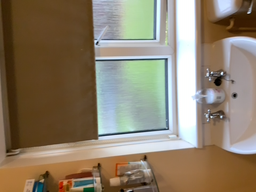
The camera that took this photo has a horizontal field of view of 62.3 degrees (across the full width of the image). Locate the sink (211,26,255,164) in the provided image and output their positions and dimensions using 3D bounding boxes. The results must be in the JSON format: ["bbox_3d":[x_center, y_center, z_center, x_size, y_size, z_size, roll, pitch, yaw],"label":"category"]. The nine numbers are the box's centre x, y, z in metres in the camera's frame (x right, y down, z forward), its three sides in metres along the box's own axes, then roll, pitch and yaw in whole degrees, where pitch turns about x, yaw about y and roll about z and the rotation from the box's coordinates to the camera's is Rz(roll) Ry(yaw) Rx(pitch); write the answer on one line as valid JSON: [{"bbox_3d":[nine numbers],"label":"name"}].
[{"bbox_3d":[0.580,-0.010,0.970,0.360,0.200,0.550,-165,73,-76],"label":"sink"}]
